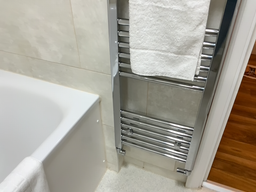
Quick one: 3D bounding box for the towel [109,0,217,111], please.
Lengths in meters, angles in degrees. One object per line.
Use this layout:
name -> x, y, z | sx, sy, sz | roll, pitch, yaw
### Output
towel -> 0.110, -0.270, 0.640 | 0.280, 0.600, 0.190 | 11, 38, 15
